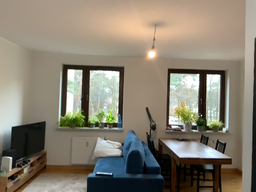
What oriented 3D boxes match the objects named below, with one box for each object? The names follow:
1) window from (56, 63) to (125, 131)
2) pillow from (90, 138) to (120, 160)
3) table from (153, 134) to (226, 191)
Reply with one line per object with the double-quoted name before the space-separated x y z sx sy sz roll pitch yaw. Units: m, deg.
"window" -0.850 0.020 4.900 1.510 1.500 0.110 2 -1 1
"pillow" -0.470 1.110 4.490 0.570 0.340 0.450 2 -1 1
"table" 1.030 1.250 4.030 0.820 0.760 1.660 2 -1 -3
